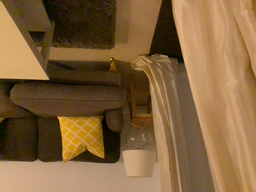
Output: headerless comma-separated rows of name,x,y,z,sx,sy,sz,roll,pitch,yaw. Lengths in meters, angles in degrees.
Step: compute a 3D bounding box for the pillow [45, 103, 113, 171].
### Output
pillow,-0.490,0.420,2.170,0.500,0.470,0.220,-28,164,-7
